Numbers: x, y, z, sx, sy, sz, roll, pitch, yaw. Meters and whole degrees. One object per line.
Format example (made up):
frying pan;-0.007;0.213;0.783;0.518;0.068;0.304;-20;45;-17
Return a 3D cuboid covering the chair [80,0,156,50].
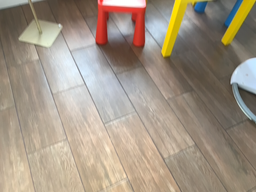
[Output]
chair;-0.060;-0.690;1.350;0.430;0.650;0.400;3;57;-4
